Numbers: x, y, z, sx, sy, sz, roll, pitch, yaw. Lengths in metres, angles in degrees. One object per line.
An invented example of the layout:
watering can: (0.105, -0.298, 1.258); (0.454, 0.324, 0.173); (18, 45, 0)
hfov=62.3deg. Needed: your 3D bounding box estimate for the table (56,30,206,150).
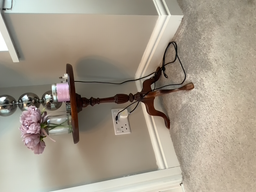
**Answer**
table: (-0.030, -0.030, 0.990); (0.360, 0.530, 0.390); (113, 148, -58)
